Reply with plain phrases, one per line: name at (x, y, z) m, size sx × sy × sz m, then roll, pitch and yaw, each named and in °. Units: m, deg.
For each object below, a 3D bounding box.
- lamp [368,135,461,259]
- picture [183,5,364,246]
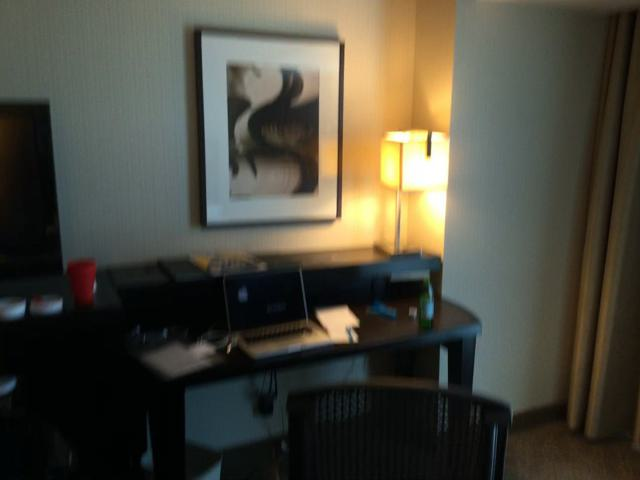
lamp at (0.380, -0.190, 2.380) m, size 0.280 × 0.480 × 0.260 m, roll -3°, pitch 11°, yaw -17°
picture at (-0.170, -0.450, 2.360) m, size 0.710 × 0.880 × 0.140 m, roll -5°, pitch 11°, yaw -24°
